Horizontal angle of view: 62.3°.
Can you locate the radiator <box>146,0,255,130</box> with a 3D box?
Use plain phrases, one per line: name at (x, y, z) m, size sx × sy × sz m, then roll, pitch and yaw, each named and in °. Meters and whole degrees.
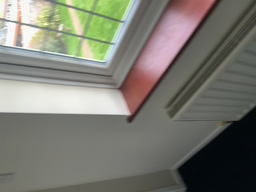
radiator at (0.680, -0.210, 0.970) m, size 1.150 × 0.740 × 0.090 m, roll -55°, pitch 44°, yaw 38°
